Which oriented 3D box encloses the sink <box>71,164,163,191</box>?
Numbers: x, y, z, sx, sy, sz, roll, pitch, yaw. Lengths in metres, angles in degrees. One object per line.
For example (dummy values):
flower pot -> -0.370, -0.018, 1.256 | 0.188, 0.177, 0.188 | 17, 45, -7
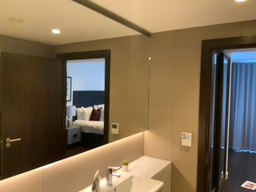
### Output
sink -> -0.060, 0.730, 1.650 | 0.470, 0.140, 0.570 | 3, 3, 31
